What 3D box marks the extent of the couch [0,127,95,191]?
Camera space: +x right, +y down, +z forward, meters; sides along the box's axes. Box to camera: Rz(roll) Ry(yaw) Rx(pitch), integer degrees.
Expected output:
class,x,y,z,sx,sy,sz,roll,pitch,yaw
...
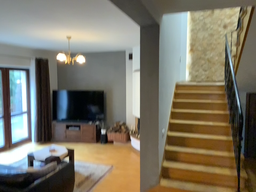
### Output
class,x,y,z,sx,sy,sz,roll,pitch,yaw
couch,-1.750,1.130,3.410,2.140,0.840,1.090,2,5,22
